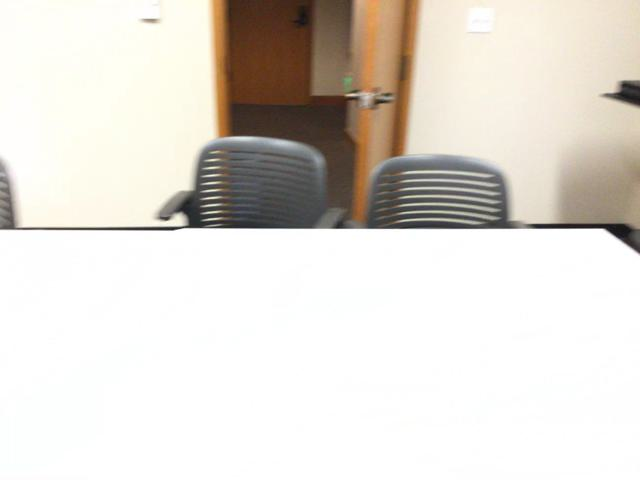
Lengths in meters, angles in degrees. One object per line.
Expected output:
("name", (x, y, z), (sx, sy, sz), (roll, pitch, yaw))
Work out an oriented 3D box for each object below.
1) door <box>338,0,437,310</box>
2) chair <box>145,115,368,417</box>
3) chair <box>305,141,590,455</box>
("door", (0.320, -0.690, 2.370), (0.150, 1.790, 0.760), (10, 20, 15))
("chair", (-0.200, 0.070, 1.960), (0.580, 0.840, 0.430), (9, 24, 10))
("chair", (0.310, 0.170, 1.820), (0.660, 0.810, 0.500), (3, 24, -3))
